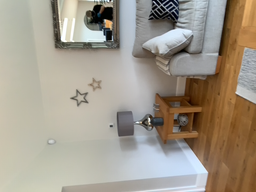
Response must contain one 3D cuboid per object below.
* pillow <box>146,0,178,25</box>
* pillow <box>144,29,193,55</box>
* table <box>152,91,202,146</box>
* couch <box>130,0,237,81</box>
[{"bbox_3d":[0.440,-1.150,2.680,0.140,0.370,0.450,-54,-32,-69],"label":"pillow"},{"bbox_3d":[0.470,-0.700,2.690,0.690,0.390,0.280,-118,27,-71],"label":"pillow"},{"bbox_3d":[0.760,0.340,3.480,0.660,0.550,0.650,-113,23,-67],"label":"table"},{"bbox_3d":[0.610,-1.420,2.570,1.040,0.950,2.250,-113,23,-67],"label":"couch"}]
